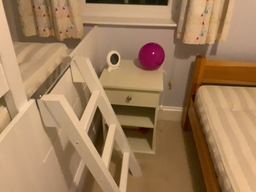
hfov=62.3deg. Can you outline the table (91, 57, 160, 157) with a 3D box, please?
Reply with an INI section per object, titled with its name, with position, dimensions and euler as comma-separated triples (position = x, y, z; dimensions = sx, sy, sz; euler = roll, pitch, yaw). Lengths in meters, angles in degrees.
[table]
position = -0.010, 0.090, 1.740
dimensions = 0.450, 0.680, 0.420
euler = 3, 33, 3
